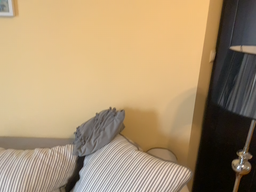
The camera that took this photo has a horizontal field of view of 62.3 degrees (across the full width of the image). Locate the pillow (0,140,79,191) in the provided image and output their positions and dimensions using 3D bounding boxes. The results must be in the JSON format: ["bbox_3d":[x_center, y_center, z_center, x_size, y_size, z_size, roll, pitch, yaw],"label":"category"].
[{"bbox_3d":[-0.600,0.490,1.060,0.650,0.400,0.340,0,19,-6],"label":"pillow"}]
